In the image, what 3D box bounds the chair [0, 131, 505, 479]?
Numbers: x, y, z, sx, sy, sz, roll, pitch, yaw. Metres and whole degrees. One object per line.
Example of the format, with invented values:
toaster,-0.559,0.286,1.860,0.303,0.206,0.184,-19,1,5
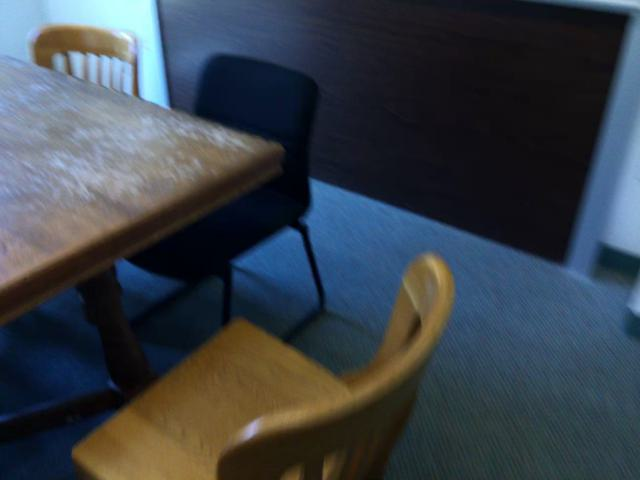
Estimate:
chair,-0.160,0.360,1.110,0.650,0.870,0.520,23,34,23
